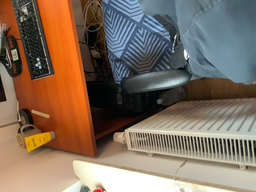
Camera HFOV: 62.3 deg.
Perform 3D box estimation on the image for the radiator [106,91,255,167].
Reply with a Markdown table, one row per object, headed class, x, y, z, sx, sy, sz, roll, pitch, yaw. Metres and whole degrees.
| class | x | y | z | sx | sy | sz | roll | pitch | yaw |
| --- | --- | --- | --- | --- | --- | --- | --- | --- | --- |
| radiator | 0.390 | 0.120 | 1.080 | 0.740 | 0.660 | 0.130 | -6 | 98 | 38 |
